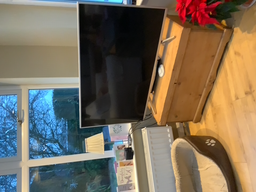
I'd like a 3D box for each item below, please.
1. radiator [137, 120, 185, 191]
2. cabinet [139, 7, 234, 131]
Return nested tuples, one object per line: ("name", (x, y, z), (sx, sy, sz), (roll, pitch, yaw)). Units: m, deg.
("radiator", (0.340, 0.780, 2.100), (0.160, 0.350, 1.040), (137, 129, -69))
("cabinet", (0.450, -0.240, 1.970), (0.540, 0.420, 0.970), (-114, 27, -54))
